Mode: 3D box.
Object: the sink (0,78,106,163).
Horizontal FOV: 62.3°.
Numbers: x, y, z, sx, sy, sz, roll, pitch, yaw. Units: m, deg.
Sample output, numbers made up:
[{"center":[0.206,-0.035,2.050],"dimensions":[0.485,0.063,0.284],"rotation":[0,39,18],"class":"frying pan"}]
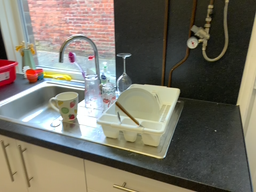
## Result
[{"center":[-0.460,0.090,1.210],"dimensions":[0.480,0.180,0.510],"rotation":[9,25,19],"class":"sink"}]
